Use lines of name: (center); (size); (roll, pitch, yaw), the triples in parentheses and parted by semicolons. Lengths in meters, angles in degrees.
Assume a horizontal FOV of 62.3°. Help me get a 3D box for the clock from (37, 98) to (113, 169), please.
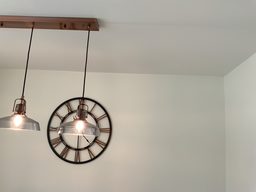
clock: (-0.550, 0.390, 2.290); (0.730, 0.700, 0.140); (3, -9, 3)
